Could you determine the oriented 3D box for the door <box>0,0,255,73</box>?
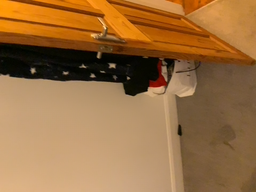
[{"bbox_3d":[-0.160,-0.430,1.060,0.870,2.030,0.040,56,134,40],"label":"door"}]
